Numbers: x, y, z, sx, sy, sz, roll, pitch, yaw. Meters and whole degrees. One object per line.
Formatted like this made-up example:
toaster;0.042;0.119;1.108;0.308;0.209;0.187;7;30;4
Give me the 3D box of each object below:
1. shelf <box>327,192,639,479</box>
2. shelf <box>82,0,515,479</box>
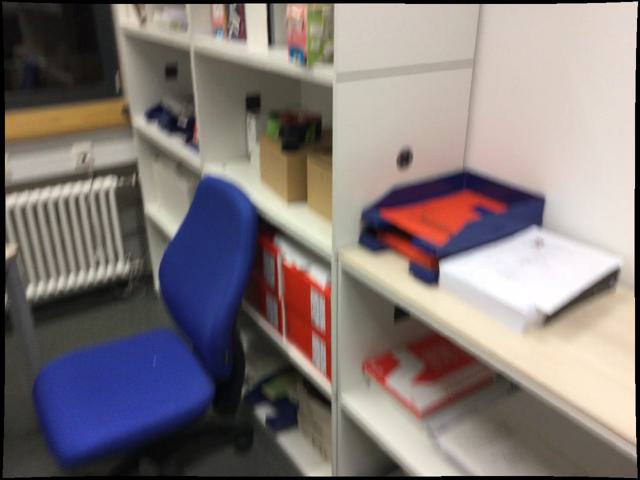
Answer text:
shelf;0.450;0.501;1.340;0.460;0.941;0.830;-16;31;-31
shelf;-0.280;-0.310;2.070;0.500;1.691;1.780;-16;31;-31
